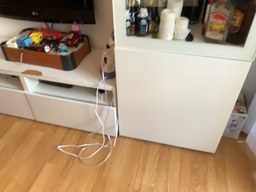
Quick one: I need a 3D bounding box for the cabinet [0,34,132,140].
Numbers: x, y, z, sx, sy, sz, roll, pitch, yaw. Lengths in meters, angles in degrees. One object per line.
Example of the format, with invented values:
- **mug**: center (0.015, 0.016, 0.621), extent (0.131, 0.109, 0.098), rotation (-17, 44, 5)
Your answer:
- **cabinet**: center (-0.600, -0.110, 1.520), extent (1.180, 0.410, 0.440), rotation (10, 42, 11)
